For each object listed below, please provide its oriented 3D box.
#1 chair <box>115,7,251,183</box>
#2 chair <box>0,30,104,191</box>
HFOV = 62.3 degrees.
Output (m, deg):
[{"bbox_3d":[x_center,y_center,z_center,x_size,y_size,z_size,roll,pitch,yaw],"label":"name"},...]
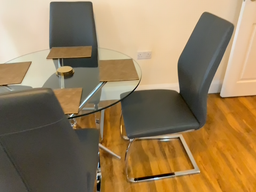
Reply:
[{"bbox_3d":[0.240,0.010,1.400,0.580,1.020,0.480,-4,32,-6],"label":"chair"},{"bbox_3d":[-0.370,0.290,0.980,0.460,1.010,0.570,-4,32,-6],"label":"chair"}]
